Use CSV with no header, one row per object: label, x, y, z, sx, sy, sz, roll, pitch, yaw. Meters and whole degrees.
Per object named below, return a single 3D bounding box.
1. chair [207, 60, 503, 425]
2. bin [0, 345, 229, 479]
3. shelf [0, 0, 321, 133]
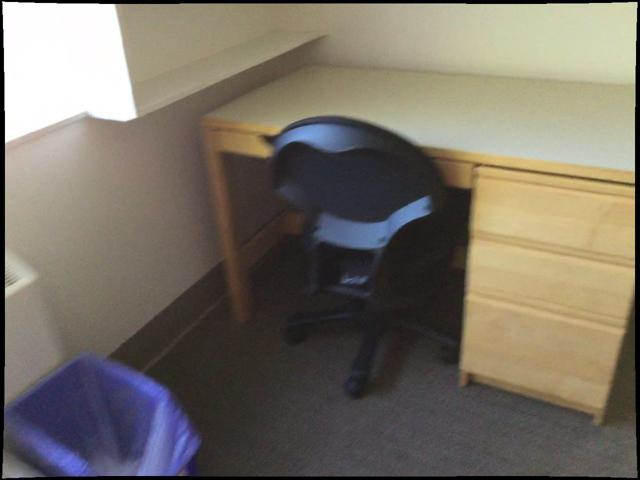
chair,0.150,-0.030,1.770,0.619,0.862,0.560,11,35,26
bin,-0.519,0.541,1.450,0.439,0.341,0.290,11,35,26
shelf,-0.409,-0.762,1.740,0.349,0.501,1.030,11,35,26
